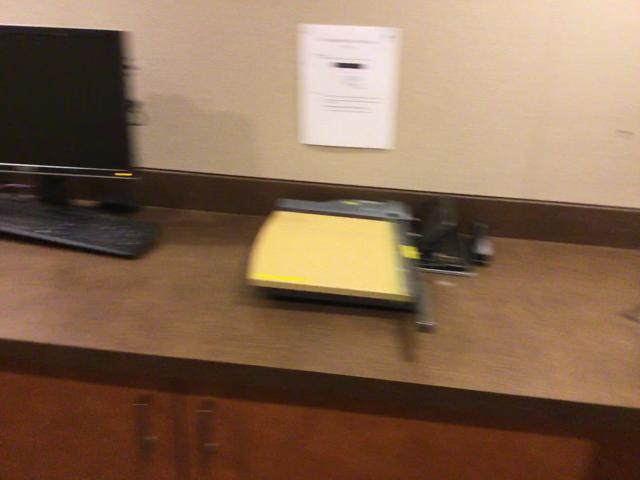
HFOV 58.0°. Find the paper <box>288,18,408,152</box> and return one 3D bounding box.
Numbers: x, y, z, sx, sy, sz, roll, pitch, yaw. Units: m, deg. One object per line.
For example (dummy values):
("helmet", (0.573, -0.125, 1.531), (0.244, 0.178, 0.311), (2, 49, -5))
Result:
("paper", (0.060, -0.360, 1.360), (0.250, 0.280, 0.020), (6, 20, 1))

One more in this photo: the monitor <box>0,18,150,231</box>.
("monitor", (-0.620, -0.260, 1.270), (0.450, 0.410, 0.140), (6, 20, 1))
